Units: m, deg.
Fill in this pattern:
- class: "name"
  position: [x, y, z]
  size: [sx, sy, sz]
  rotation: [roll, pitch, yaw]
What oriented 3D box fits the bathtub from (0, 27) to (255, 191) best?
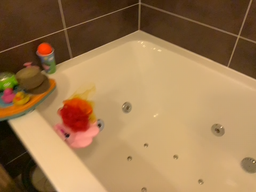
- class: "bathtub"
  position: [0.340, 0.420, 0.830]
  size: [0.890, 0.590, 1.810]
  rotation: [-33, 51, -31]
